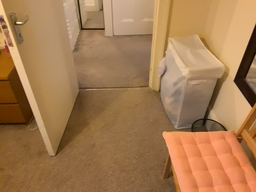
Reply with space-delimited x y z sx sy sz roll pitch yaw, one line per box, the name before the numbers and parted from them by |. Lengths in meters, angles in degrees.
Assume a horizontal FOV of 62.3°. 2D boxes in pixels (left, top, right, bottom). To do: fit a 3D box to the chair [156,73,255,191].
chair | 0.470 0.360 1.120 0.500 0.850 0.430 -3 40 -4
